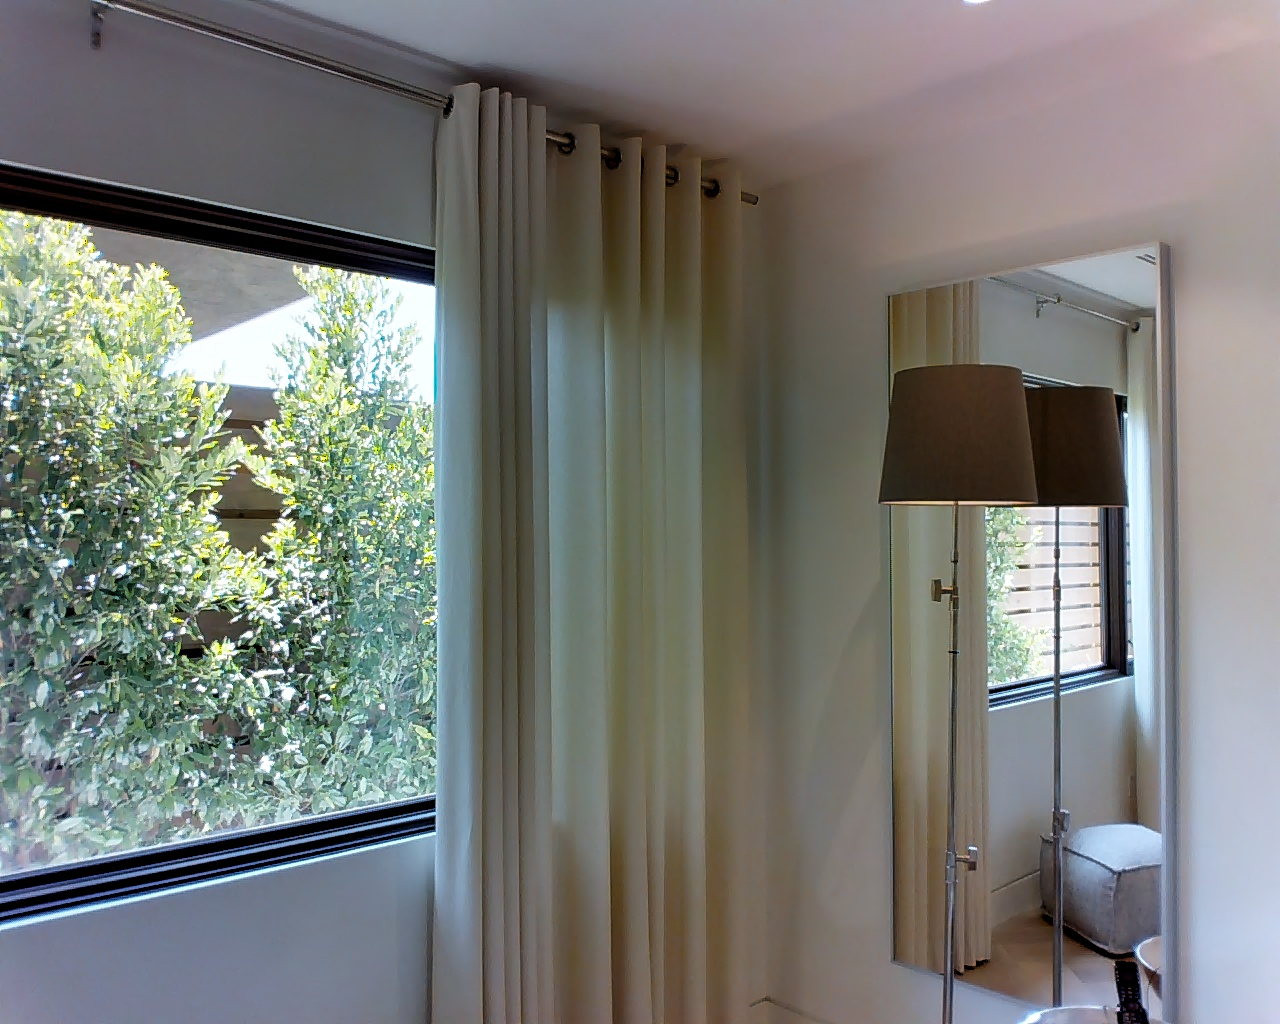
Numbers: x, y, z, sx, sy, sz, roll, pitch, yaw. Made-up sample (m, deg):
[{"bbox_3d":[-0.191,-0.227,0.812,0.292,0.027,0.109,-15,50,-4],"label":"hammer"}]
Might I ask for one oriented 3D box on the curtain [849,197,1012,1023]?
[{"bbox_3d":[1.100,0.330,4.010,0.840,2.810,0.150,1,-2,-44],"label":"curtain"}]
